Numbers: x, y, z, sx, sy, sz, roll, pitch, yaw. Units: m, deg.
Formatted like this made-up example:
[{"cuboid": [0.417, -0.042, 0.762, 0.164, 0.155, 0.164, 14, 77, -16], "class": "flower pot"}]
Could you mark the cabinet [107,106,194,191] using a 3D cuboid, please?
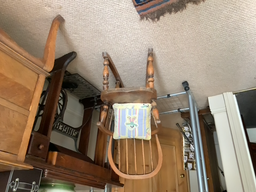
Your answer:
[{"cuboid": [0.270, 0.750, 2.240, 0.590, 0.940, 0.810, -14, 147, 26], "class": "cabinet"}]
